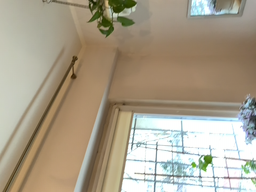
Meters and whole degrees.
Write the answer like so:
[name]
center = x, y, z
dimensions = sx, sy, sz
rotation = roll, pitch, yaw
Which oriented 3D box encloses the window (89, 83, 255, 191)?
[window]
center = 0.440, 0.330, 1.330
dimensions = 0.220, 1.180, 0.940
rotation = 81, -166, -46
